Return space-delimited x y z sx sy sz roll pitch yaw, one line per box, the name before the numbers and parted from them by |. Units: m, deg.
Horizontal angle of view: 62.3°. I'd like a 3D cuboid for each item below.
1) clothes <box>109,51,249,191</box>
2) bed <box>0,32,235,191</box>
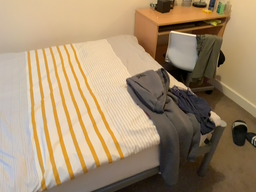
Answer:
clothes | 0.210 0.120 1.280 0.440 0.480 0.670 -13 39 -20
bed | -0.680 0.190 1.390 2.110 0.540 1.330 -13 40 -20
